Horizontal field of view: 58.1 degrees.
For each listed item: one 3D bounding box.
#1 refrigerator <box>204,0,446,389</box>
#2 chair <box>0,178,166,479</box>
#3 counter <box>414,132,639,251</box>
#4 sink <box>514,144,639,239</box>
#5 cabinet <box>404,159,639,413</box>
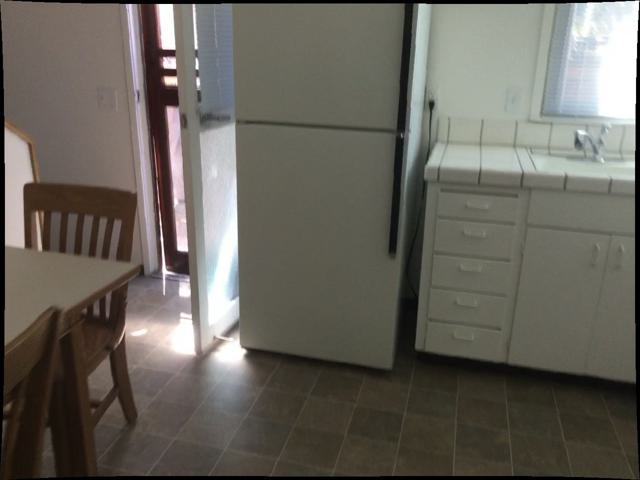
[{"bbox_3d":[0.050,-0.270,2.640,0.869,1.592,0.750,6,20,10],"label":"refrigerator"},{"bbox_3d":[-0.968,0.311,1.930,0.639,0.881,0.580,6,20,10],"label":"chair"},{"bbox_3d":[1.468,-0.180,2.300,2.107,0.240,0.800,6,20,10],"label":"counter"},{"bbox_3d":[1.178,-0.220,2.450,0.589,0.230,0.590,6,20,10],"label":"sink"},{"bbox_3d":[1.108,0.210,2.290,1.458,0.931,0.180,6,20,10],"label":"cabinet"}]
